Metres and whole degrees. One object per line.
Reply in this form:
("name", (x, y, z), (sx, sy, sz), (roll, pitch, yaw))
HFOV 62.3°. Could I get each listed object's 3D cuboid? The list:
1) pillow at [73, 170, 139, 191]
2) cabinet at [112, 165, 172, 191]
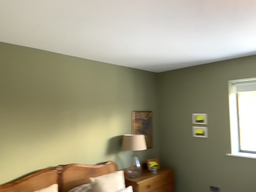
("pillow", (-0.290, 1.190, 2.660), (0.480, 0.290, 0.720), (3, -6, -43))
("cabinet", (0.270, 1.680, 3.640), (0.500, 0.690, 1.020), (-4, -6, 43))
